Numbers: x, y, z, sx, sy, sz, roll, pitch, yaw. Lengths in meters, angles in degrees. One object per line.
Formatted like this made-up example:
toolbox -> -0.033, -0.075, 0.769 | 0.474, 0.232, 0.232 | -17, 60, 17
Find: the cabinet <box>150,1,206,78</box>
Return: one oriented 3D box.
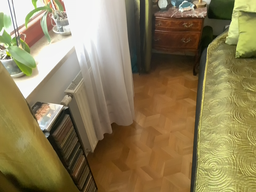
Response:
cabinet -> 0.530, -0.620, 2.350 | 0.510, 0.690, 0.390 | 8, 44, 14
